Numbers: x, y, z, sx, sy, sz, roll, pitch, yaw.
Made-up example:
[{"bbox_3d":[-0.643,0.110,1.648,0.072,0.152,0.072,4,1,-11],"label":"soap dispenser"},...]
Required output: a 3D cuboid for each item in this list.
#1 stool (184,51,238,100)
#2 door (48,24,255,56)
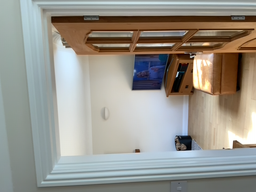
[{"bbox_3d":[1.180,-0.330,3.130,0.710,0.450,0.640,-115,24,-79],"label":"stool"},{"bbox_3d":[0.540,-0.410,1.630,0.750,2.030,0.090,-139,47,-84],"label":"door"}]
